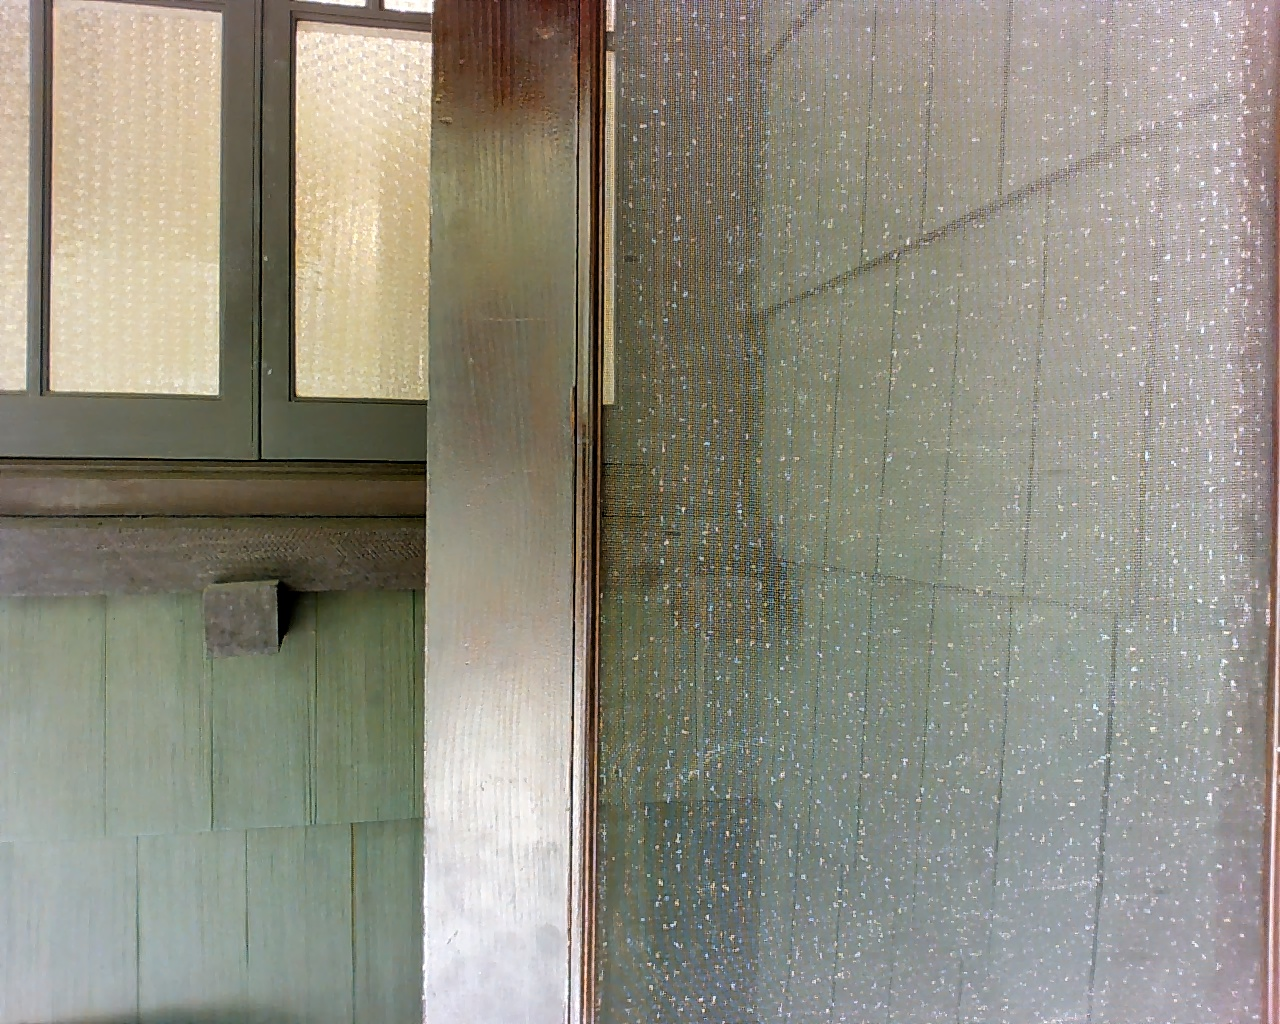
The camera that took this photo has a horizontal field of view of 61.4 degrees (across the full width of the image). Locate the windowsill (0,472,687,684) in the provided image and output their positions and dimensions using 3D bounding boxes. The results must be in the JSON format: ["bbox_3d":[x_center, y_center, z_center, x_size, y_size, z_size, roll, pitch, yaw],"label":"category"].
[{"bbox_3d":[-0.710,0.080,1.450,1.540,0.260,0.220,0,1,-13],"label":"windowsill"}]
